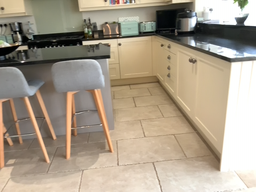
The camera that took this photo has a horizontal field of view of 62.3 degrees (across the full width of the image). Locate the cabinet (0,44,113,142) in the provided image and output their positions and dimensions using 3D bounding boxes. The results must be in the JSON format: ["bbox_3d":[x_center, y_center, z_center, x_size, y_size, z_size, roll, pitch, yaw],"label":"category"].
[{"bbox_3d":[-0.950,-0.060,2.450,1.460,0.870,0.630,-5,21,-3],"label":"cabinet"}]

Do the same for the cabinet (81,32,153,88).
[{"bbox_3d":[-0.190,-0.710,4.050,1.200,0.860,0.630,-5,21,-3],"label":"cabinet"}]

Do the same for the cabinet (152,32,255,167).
[{"bbox_3d":[0.870,-0.270,2.690,0.690,0.850,2.380,-5,21,-3],"label":"cabinet"}]
